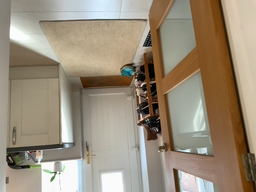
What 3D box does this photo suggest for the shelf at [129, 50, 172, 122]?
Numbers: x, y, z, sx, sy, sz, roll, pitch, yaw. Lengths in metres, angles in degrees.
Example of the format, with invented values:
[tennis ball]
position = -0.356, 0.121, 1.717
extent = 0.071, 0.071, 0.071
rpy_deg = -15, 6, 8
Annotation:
[shelf]
position = 0.230, -0.070, 2.630
extent = 0.270, 0.690, 0.830
rpy_deg = -3, 169, -9

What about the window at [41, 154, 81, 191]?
[window]
position = -0.970, 1.470, 3.120
extent = 0.540, 1.120, 0.170
rpy_deg = -3, 169, -11
